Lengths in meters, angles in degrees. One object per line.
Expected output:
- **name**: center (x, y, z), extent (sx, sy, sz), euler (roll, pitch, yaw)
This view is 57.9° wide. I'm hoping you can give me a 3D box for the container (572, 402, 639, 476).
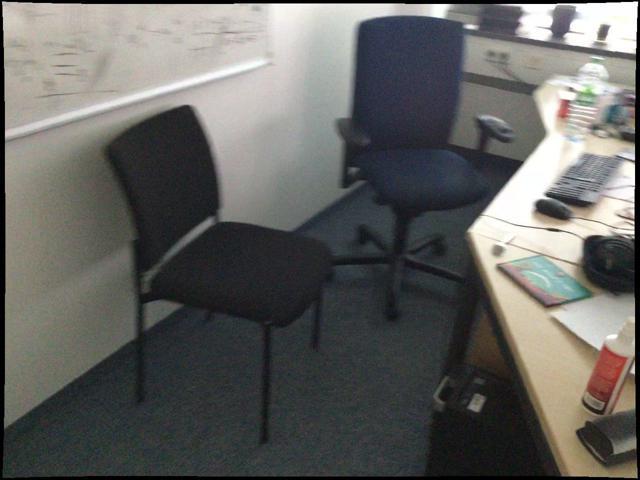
- **container**: center (0.490, 0.300, 0.890), extent (0.160, 0.050, 0.080), euler (-5, 33, -10)
